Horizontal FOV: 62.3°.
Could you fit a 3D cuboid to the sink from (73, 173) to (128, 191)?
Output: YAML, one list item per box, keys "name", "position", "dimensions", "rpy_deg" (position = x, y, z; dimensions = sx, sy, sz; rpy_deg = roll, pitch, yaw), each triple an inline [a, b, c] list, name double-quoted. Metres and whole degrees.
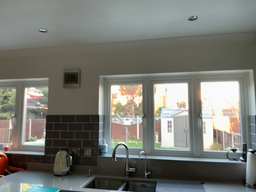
- name: "sink"
  position: [-0.250, 0.980, 2.150]
  dimensions: [0.400, 0.230, 0.540]
  rpy_deg: [-1, -6, 12]
